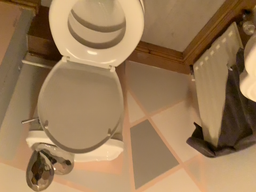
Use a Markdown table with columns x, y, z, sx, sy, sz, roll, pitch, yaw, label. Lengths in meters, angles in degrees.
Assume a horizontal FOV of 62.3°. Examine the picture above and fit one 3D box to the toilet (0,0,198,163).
| x | y | z | sx | sy | sz | roll | pitch | yaw | label |
| --- | --- | --- | --- | --- | --- | --- | --- | --- | --- |
| -0.140 | -0.200 | 0.940 | 0.440 | 0.800 | 0.690 | 11 | 149 | -16 | toilet |
